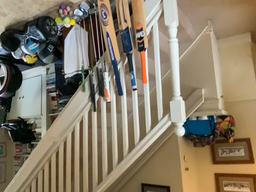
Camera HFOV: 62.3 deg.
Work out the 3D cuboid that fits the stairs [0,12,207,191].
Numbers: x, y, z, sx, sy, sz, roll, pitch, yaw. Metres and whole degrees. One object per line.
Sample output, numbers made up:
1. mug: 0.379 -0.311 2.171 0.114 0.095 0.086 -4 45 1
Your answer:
1. stairs: -0.360 0.440 2.490 1.240 4.000 1.380 5 128 37
